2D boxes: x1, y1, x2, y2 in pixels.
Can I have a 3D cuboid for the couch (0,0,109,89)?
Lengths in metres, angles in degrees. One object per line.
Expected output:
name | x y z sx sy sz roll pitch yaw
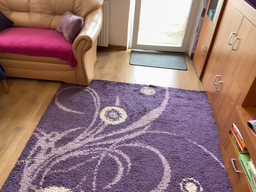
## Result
couch | -0.980 -0.740 2.360 1.410 0.850 0.810 6 38 1
